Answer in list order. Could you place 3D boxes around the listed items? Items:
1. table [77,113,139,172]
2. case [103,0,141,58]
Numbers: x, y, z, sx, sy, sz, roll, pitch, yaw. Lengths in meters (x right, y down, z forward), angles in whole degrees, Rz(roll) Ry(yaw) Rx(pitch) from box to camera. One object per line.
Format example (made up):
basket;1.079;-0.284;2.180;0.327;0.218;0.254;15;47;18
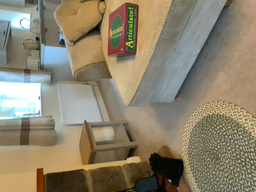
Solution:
table;-0.240;0.480;2.290;0.420;0.490;0.410;-119;39;-46
case;-0.050;-0.430;1.280;0.370;0.080;0.330;180;91;-64
